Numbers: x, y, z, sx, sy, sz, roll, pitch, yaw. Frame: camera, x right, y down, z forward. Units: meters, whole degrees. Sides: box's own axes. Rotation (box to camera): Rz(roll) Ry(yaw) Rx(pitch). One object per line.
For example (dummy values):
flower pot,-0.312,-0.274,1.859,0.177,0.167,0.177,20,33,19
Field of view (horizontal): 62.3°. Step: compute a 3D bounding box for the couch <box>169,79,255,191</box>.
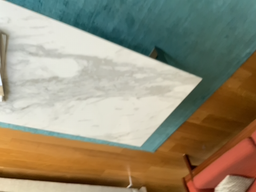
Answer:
couch,1.280,0.520,1.910,0.840,0.760,1.630,15,129,-25
